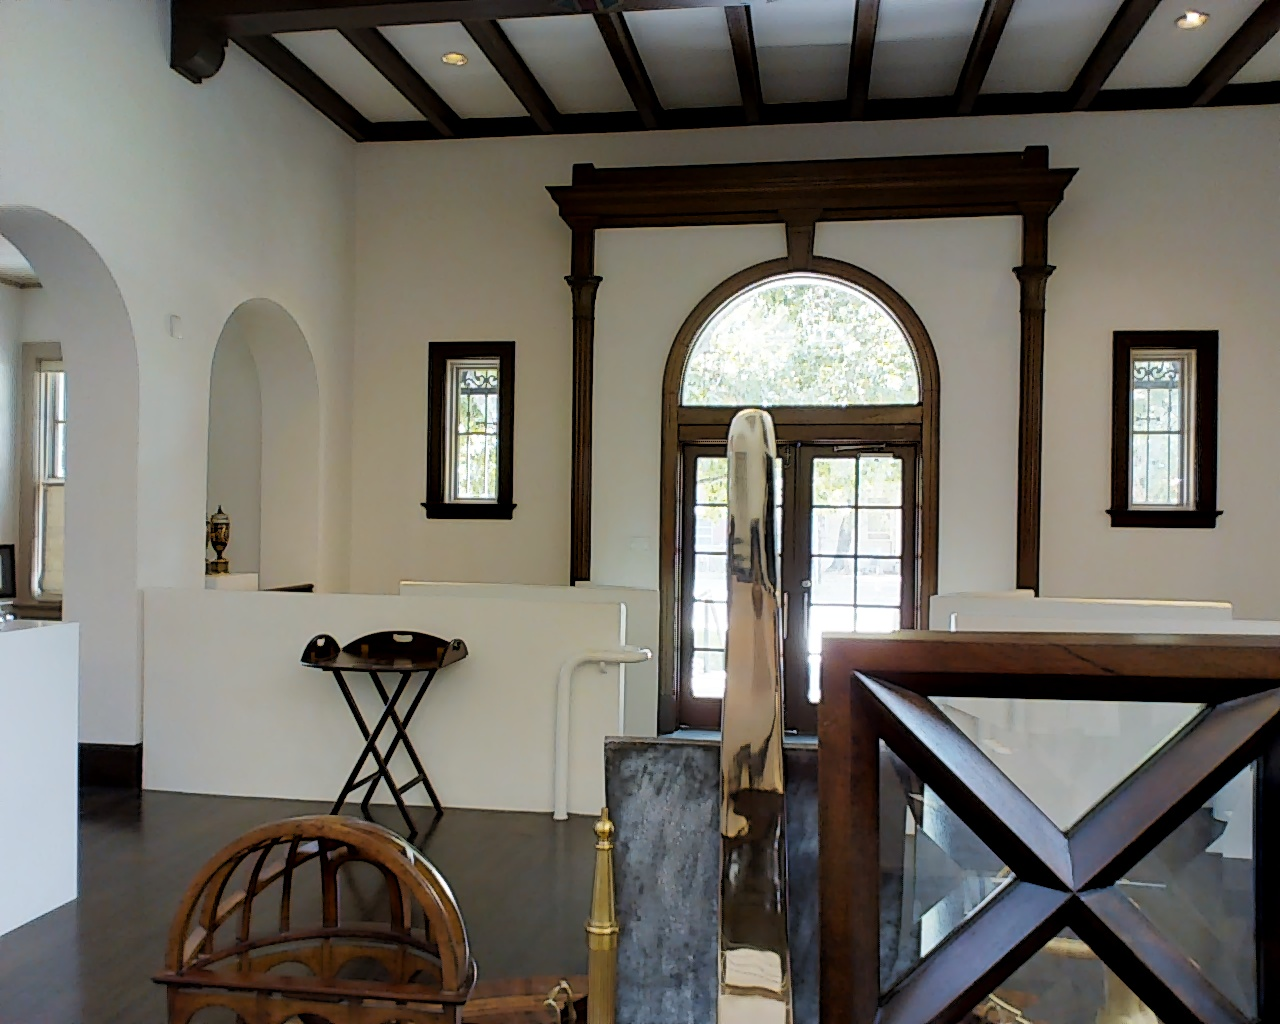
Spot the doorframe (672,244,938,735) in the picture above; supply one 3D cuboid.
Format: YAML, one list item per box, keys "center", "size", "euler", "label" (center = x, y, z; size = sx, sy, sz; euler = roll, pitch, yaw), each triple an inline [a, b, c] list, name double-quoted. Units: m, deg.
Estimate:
- center: [1.130, -0.160, 7.460]
  size: [1.770, 3.300, 0.190]
  euler: [1, 0, 10]
  label: "doorframe"

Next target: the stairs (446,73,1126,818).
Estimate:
- center: [0.840, -0.340, 6.580]
  size: [3.430, 3.630, 2.150]
  euler: [1, 0, 10]
  label: "stairs"
